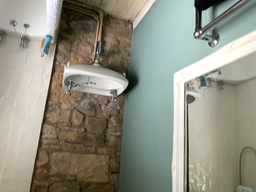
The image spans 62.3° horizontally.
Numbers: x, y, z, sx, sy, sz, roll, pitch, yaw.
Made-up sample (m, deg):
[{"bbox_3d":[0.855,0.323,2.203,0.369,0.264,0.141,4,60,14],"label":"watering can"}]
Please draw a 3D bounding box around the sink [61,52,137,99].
[{"bbox_3d":[-0.280,-0.170,2.020,0.630,0.240,0.350,9,166,-19],"label":"sink"}]
